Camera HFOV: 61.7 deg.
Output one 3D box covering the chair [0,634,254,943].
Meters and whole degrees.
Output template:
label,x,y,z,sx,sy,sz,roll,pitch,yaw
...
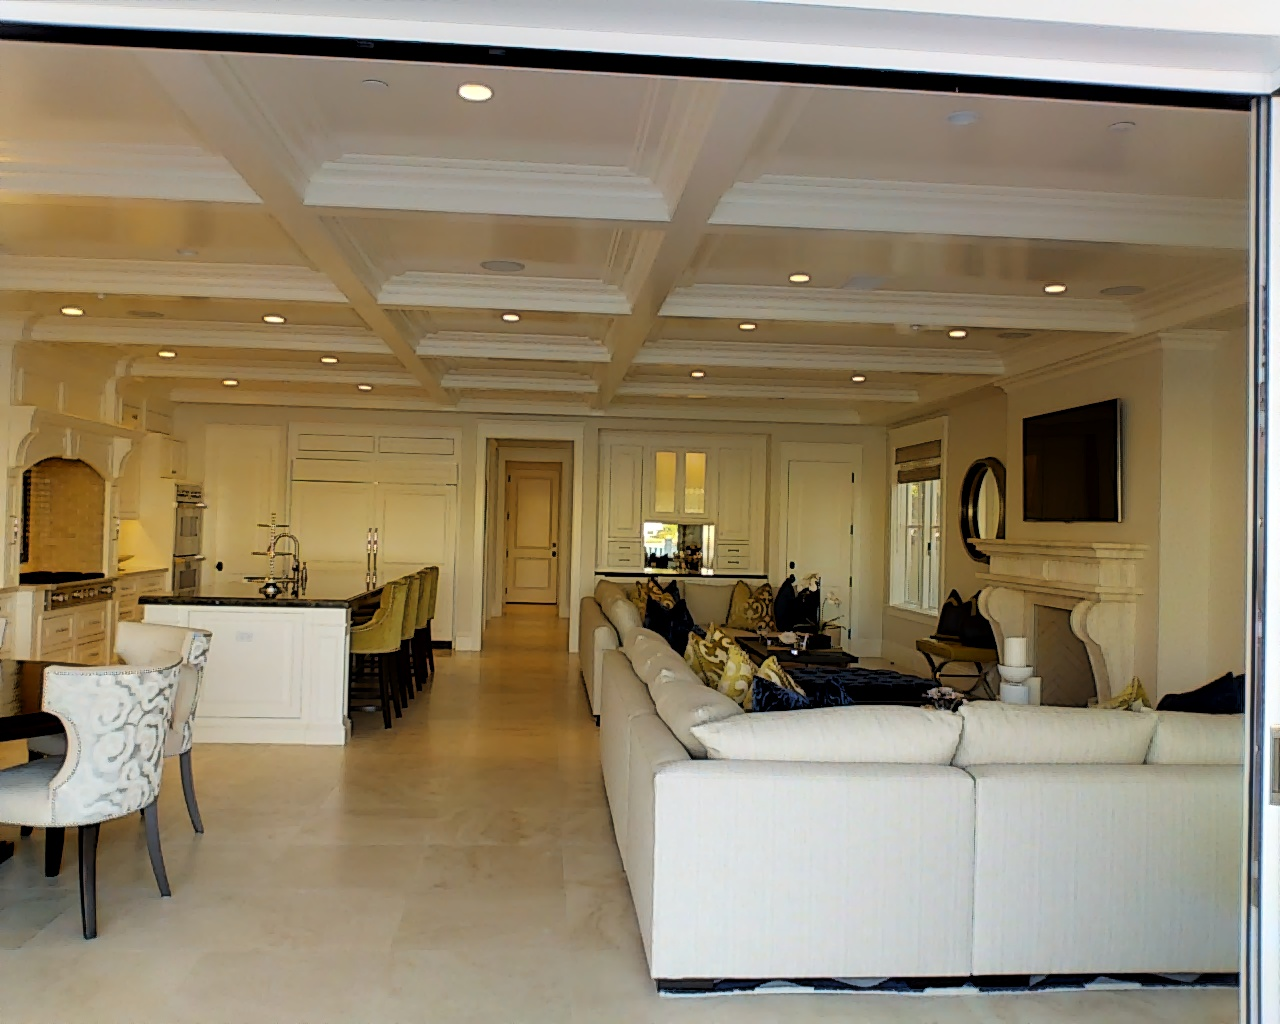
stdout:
label,x,y,z,sx,sy,sz,roll,pitch,yaw
chair,-2.019,0.960,3.980,0.800,0.910,0.740,1,-1,13
